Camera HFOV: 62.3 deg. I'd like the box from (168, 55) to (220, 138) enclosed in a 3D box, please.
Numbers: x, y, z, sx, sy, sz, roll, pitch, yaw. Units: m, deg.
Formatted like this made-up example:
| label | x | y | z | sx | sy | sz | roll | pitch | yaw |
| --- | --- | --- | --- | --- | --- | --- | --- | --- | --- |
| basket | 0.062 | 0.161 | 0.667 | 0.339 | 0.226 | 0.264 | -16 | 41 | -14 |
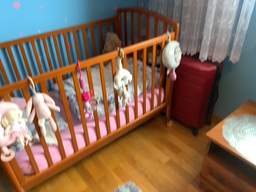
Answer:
| label | x | y | z | sx | sy | sz | roll | pitch | yaw |
| --- | --- | --- | --- | --- | --- | --- | --- | --- | --- |
| box | 0.550 | 0.010 | 1.840 | 0.230 | 0.640 | 0.260 | -30 | 43 | -35 |
